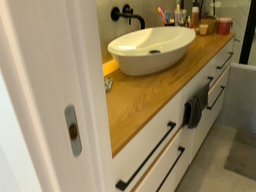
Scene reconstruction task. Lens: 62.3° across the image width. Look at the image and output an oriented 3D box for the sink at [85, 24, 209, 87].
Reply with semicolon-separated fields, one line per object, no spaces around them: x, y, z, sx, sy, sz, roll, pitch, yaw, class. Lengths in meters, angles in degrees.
0.140;-0.260;1.130;0.360;0.110;0.650;17;34;31;sink
